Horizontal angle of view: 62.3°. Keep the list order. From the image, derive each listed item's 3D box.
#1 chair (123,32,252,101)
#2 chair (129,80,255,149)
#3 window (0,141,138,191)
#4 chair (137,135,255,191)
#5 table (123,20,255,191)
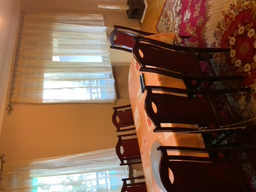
[{"bbox_3d":[0.490,-0.250,1.930,0.450,0.970,0.380,110,155,-54],"label":"chair"},{"bbox_3d":[0.550,0.140,1.680,0.430,0.980,0.350,111,153,-56],"label":"chair"},{"bbox_3d":[-0.730,1.420,2.330,0.220,1.770,1.730,111,154,-56],"label":"window"},{"bbox_3d":[0.620,0.560,1.450,0.450,0.980,0.400,110,155,-54],"label":"chair"},{"bbox_3d":[0.550,0.370,2.150,1.060,0.770,2.030,111,154,-56],"label":"table"}]
